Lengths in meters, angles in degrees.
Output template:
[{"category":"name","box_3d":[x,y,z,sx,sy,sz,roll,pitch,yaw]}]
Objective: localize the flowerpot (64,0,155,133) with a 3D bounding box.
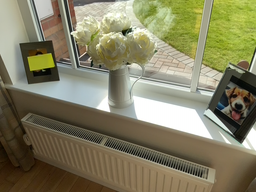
[{"category":"flowerpot","box_3d":[-0.050,-0.140,0.980,0.250,0.490,0.310,12,39,17]}]
